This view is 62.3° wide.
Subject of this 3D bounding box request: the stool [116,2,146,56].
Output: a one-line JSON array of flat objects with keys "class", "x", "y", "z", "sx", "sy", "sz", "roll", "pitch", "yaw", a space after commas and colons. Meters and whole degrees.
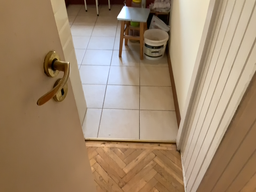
[{"class": "stool", "x": 0.040, "y": -0.760, "z": 2.410, "sx": 0.290, "sy": 0.480, "sz": 0.330, "roll": 4, "pitch": 44, "yaw": 4}]
